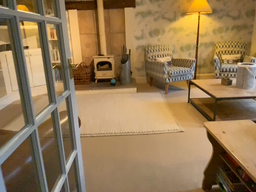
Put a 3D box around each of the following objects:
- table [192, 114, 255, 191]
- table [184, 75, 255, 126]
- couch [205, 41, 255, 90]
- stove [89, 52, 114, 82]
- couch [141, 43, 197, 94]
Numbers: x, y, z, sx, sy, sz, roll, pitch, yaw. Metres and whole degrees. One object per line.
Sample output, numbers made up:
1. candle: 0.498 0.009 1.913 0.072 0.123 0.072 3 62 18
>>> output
1. table: 0.720 0.530 1.140 0.370 0.510 1.010 -3 17 -3
2. table: 1.450 0.010 3.010 1.010 0.370 1.020 -2 17 -2
3. couch: 2.040 -0.670 4.370 0.720 0.850 0.860 3 18 15
4. stove: -0.550 -0.630 4.560 0.480 0.560 0.450 -2 17 -2
5. couch: 0.780 -0.600 4.270 0.720 0.840 0.860 -9 19 -23
